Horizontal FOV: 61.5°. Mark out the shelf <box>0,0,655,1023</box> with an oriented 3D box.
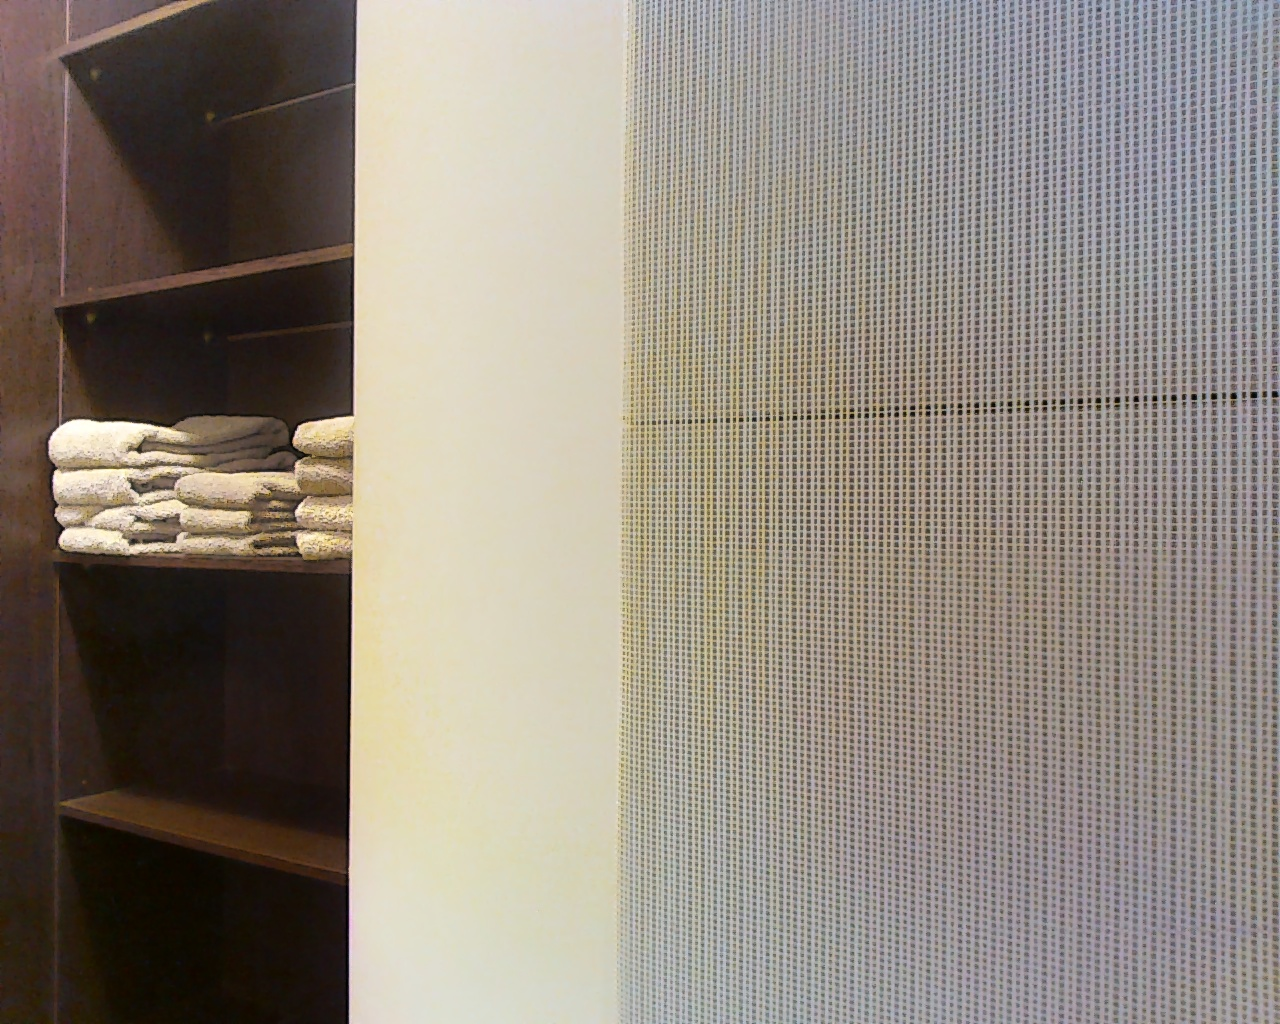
[{"bbox_3d":[-0.530,0.060,1.660,0.970,2.680,0.510,0,-1,31],"label":"shelf"}]
